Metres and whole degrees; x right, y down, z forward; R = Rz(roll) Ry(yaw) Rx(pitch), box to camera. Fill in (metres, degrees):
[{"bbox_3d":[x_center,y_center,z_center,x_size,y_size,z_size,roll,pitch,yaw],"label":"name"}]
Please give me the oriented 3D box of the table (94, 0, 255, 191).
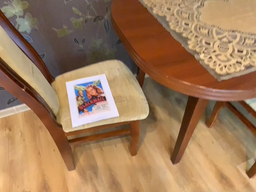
[{"bbox_3d":[0.710,-0.210,1.360,1.570,0.770,0.910,-17,51,-16],"label":"table"}]
